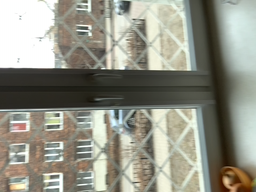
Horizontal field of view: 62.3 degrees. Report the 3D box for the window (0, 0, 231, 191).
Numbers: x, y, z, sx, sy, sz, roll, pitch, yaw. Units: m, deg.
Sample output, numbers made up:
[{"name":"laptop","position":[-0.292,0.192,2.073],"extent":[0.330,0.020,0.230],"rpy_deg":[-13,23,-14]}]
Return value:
[{"name":"window","position":[-0.380,0.240,0.880],"extent":[0.140,1.690,1.810],"rpy_deg":[143,125,-75]}]
